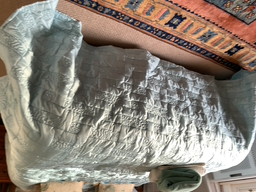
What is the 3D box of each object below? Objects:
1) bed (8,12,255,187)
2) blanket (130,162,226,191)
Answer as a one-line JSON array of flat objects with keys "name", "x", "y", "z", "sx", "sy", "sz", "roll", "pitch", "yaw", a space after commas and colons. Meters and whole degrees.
[{"name": "bed", "x": -0.180, "y": 0.450, "z": 2.080, "sx": 1.570, "sy": 0.680, "sz": 2.080, "roll": 13, "pitch": 150, "yaw": -26}, {"name": "blanket", "x": 0.320, "y": 0.590, "z": 1.470, "sx": 0.420, "sy": 0.160, "sz": 0.480, "roll": 14, "pitch": 150, "yaw": -28}]
